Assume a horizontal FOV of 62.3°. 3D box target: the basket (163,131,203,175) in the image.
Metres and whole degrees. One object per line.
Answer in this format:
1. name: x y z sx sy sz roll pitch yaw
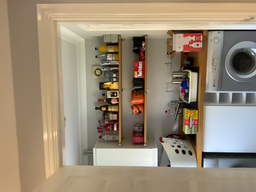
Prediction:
1. basket: 0.610 0.630 2.460 0.590 0.310 0.290 -76 -14 -83

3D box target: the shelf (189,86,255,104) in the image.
1. shelf: 1.210 -0.020 2.440 0.530 0.880 0.140 -77 -13 -82

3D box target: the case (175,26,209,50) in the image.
1. case: 0.650 -0.590 2.200 0.330 0.250 0.210 -79 -11 -81
